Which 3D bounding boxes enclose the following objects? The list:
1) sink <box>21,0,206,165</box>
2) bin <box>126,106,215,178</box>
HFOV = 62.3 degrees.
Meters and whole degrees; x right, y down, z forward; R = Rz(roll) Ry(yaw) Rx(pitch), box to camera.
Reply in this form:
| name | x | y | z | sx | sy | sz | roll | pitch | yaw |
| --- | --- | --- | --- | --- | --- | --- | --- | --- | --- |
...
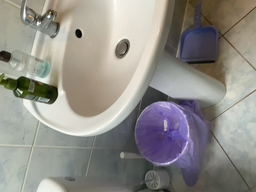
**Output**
| name | x | y | z | sx | sy | sz | roll | pitch | yaw |
| --- | --- | --- | --- | --- | --- | --- | --- | --- | --- |
| sink | -0.050 | -0.170 | 0.600 | 0.450 | 0.170 | 0.580 | 8 | 83 | 41 |
| bin | 0.210 | 0.210 | 1.050 | 0.330 | 0.240 | 0.270 | 2 | 80 | 40 |
